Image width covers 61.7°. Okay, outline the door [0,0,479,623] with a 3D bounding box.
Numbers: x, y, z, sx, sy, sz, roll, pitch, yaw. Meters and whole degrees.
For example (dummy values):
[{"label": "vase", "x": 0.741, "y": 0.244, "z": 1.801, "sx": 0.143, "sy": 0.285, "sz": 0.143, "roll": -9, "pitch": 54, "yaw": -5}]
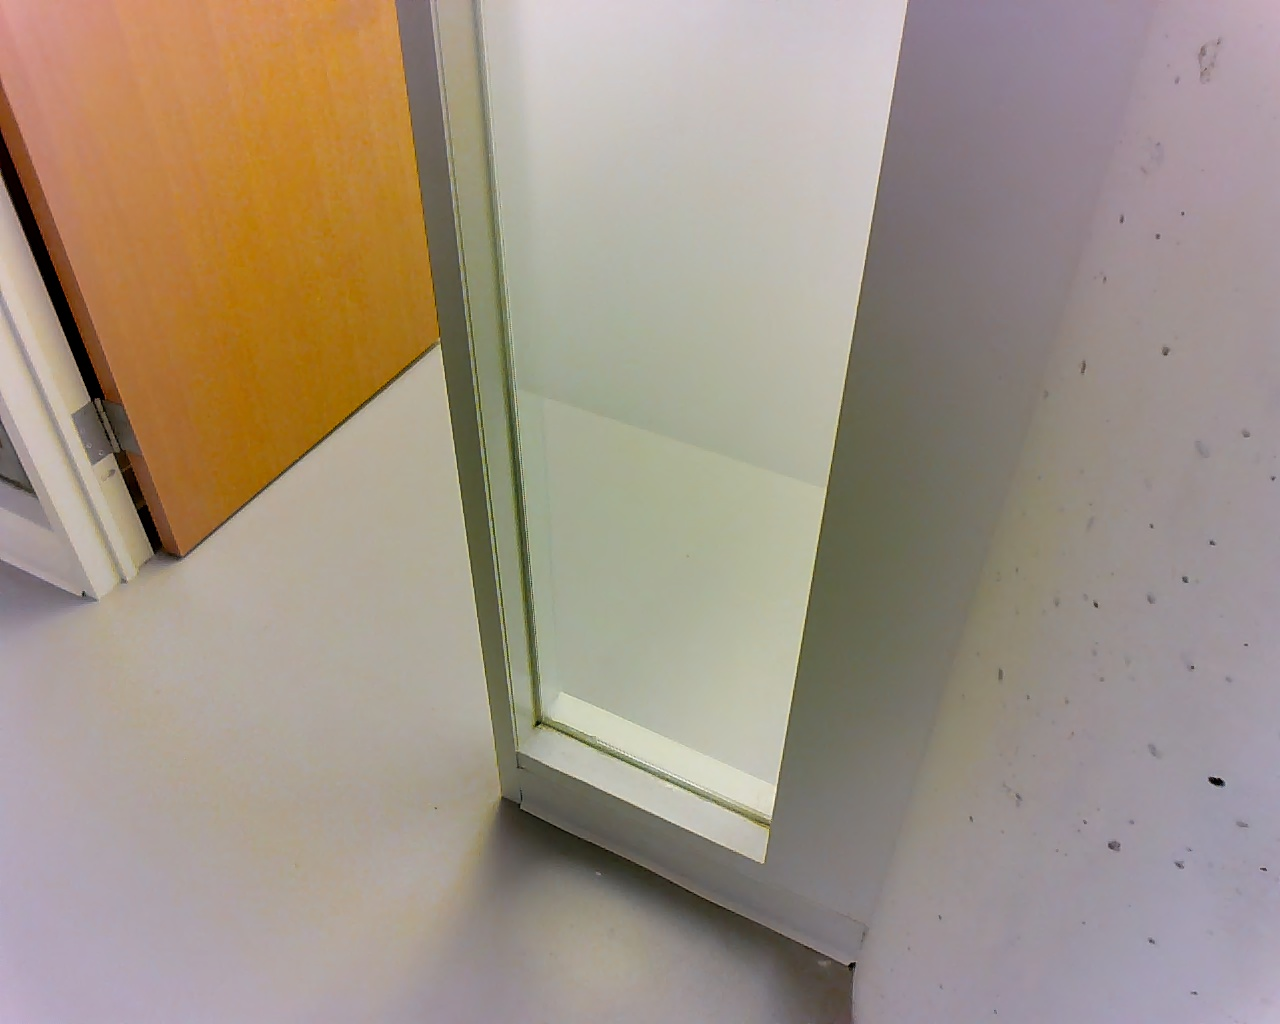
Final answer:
[{"label": "door", "x": -0.690, "y": -0.960, "z": 1.620, "sx": 0.080, "sy": 2.230, "sz": 1.090, "roll": 19, "pitch": 45, "yaw": 20}]
